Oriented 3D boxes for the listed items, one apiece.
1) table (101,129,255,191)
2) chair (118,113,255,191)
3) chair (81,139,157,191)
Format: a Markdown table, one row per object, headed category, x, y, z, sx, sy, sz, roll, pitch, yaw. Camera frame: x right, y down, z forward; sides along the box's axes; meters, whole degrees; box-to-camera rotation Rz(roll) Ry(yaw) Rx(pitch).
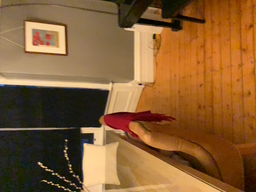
| category | x | y | z | sx | sy | sz | roll | pitch | yaw |
| --- | --- | --- | --- | --- | --- | --- | --- | --- | --- |
| table | 0.370 | 0.930 | 1.860 | 2.280 | 0.780 | 1.040 | 171 | 100 | -72 |
| chair | 0.460 | 0.470 | 1.410 | 0.540 | 0.910 | 0.620 | -163 | 76 | -72 |
| chair | -0.180 | 1.020 | 3.230 | 0.680 | 0.990 | 0.630 | 140 | 129 | -67 |
